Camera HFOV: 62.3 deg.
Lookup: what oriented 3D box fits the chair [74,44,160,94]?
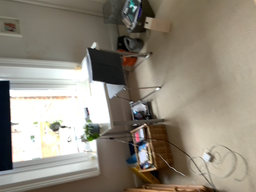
[{"bbox_3d":[-0.140,-0.290,2.580,0.480,0.870,0.380,-36,60,54],"label":"chair"}]
